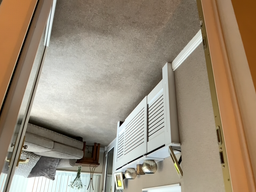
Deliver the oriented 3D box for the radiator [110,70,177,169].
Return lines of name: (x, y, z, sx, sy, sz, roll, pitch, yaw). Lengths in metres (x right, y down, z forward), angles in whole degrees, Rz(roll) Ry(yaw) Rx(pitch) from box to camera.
radiator: (0.080, 0.420, 2.600, 0.120, 0.710, 1.680, 10, 152, -16)
